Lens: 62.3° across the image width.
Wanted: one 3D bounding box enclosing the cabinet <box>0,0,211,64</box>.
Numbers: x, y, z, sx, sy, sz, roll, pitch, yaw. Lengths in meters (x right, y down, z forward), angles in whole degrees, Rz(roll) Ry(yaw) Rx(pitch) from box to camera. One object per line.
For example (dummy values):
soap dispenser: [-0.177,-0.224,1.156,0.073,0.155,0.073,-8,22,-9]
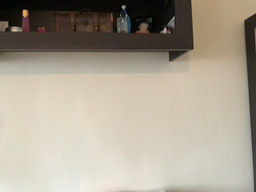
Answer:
cabinet: [-0.270,-0.430,1.030,1.230,0.490,0.310,-1,-2,-6]
